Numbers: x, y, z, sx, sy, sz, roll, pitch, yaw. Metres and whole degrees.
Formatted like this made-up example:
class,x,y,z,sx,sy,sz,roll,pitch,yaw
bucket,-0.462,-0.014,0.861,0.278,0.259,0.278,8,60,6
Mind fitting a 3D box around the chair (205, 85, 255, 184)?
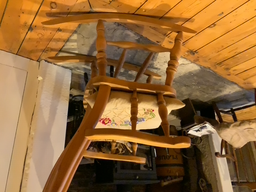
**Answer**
class,x,y,z,sx,sy,sz,roll,pitch,yaw
chair,1.240,0.440,2.220,0.500,0.870,0.550,-22,149,37
